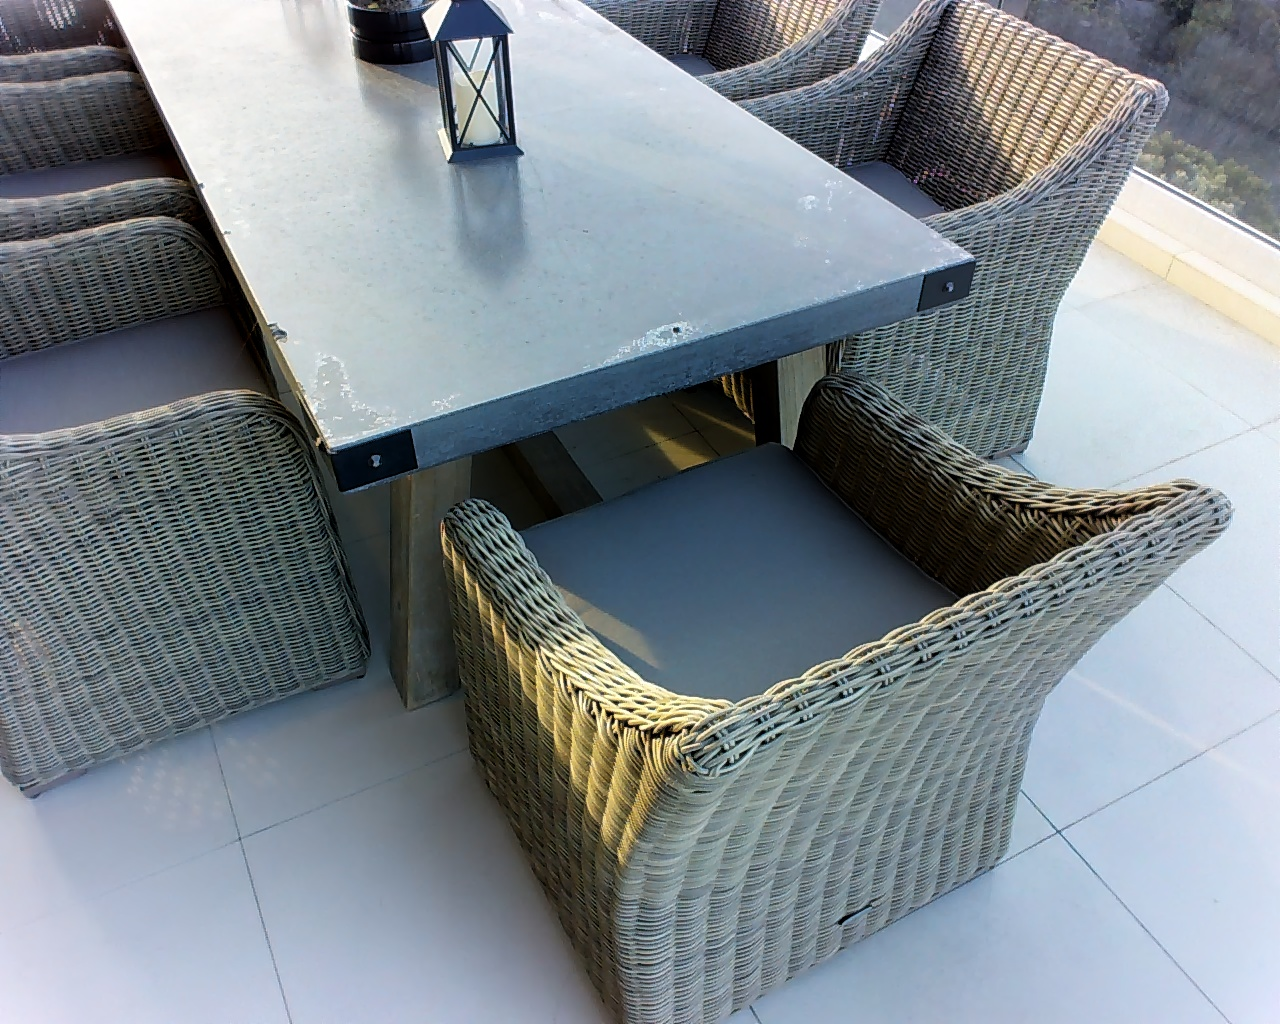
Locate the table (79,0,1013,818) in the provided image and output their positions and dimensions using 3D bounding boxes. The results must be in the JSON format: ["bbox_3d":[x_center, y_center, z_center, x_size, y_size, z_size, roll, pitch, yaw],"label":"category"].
[{"bbox_3d":[-0.570,-0.790,2.630,1.090,0.770,2.820,-19,46,-20],"label":"table"}]
